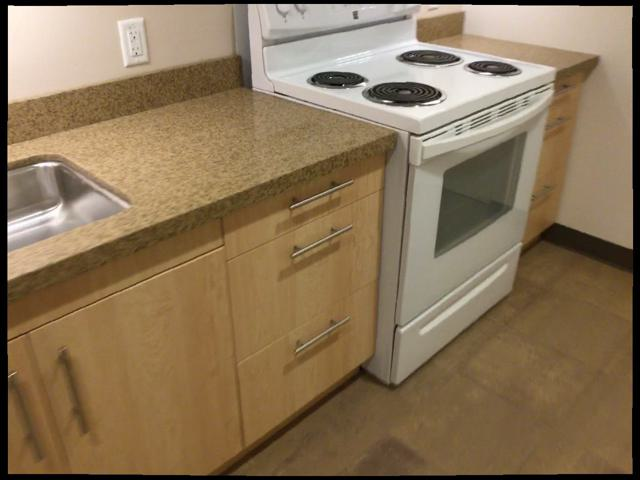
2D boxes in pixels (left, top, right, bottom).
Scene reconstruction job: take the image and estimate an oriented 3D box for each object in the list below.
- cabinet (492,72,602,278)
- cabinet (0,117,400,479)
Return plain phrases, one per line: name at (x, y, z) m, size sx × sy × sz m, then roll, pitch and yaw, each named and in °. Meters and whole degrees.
cabinet at (0.928, -0.260, 2.380) m, size 0.090 × 0.751 × 0.450 m, roll 27°, pitch 41°, yaw 34°
cabinet at (-0.479, 0.411, 1.190) m, size 0.170 × 0.861 × 1.819 m, roll 27°, pitch 41°, yaw 34°
